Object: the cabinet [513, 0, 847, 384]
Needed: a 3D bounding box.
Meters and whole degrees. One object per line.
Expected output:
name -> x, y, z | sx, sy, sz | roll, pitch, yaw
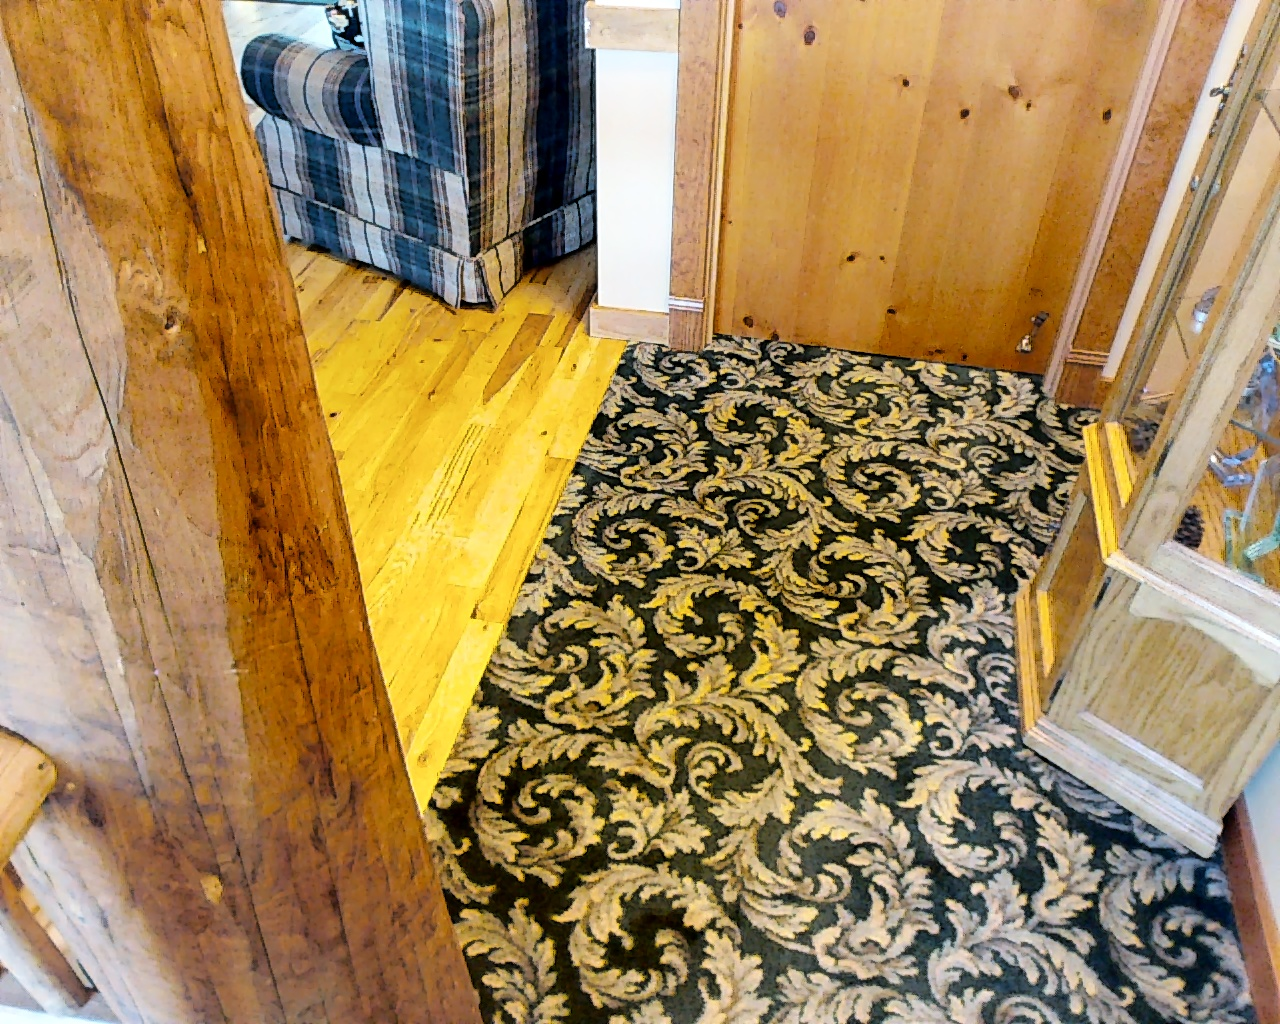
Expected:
cabinet -> 0.110, -1.220, 2.540 | 0.740, 1.850, 0.360 | 9, 42, 8
